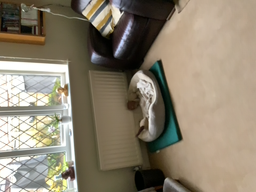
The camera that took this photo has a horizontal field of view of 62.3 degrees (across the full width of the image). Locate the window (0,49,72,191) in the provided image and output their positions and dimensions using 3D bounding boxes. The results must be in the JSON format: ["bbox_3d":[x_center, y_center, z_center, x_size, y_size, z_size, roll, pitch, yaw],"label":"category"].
[{"bbox_3d":[-1.430,0.320,2.390,0.380,1.360,1.750,136,128,-57],"label":"window"}]

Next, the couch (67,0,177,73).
[{"bbox_3d":[-0.190,-1.000,2.570,1.100,0.820,0.950,126,137,-51],"label":"couch"}]
